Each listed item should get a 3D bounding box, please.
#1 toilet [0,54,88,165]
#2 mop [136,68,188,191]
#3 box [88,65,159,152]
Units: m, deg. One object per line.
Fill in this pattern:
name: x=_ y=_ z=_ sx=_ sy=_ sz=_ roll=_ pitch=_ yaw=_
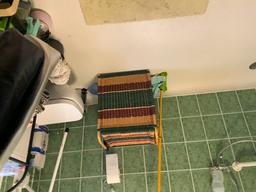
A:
toilet: x=-0.700 y=0.110 z=1.760 sx=0.630 sy=0.780 sz=0.360 roll=-6 pitch=151 yaw=4
mop: x=0.290 y=0.340 z=1.970 sx=0.310 sy=1.240 sz=0.260 roll=-6 pitch=151 yaw=5
box: x=-0.030 y=0.130 z=2.030 sx=0.570 sy=0.660 sz=0.440 roll=-6 pitch=151 yaw=4
